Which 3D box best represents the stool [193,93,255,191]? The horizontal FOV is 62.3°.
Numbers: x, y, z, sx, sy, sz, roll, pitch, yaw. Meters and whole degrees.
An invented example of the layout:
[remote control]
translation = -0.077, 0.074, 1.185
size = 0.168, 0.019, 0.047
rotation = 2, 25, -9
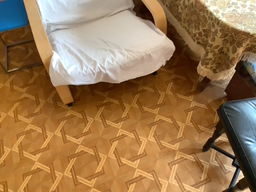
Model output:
[stool]
translation = 0.560, 0.260, 0.980
size = 0.310, 0.410, 0.380
rotation = -8, 58, -4
